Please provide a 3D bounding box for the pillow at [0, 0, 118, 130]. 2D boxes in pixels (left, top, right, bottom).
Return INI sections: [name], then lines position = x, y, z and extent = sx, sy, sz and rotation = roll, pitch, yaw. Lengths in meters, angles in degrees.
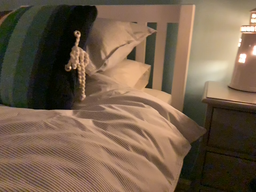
[pillow]
position = -0.350, -0.160, 0.690
extent = 0.480, 0.380, 0.180
rotation = -29, 4, 25
